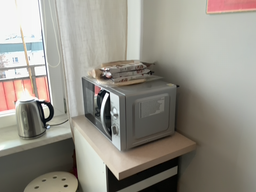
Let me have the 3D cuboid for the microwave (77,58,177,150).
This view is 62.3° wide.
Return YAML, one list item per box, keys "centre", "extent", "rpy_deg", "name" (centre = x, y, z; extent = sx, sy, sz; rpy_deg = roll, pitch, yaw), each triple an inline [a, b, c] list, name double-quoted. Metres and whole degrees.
- centre: [-0.020, 0.000, 1.100]
  extent: [0.350, 0.320, 0.390]
  rpy_deg: [-11, 20, -28]
  name: "microwave"
